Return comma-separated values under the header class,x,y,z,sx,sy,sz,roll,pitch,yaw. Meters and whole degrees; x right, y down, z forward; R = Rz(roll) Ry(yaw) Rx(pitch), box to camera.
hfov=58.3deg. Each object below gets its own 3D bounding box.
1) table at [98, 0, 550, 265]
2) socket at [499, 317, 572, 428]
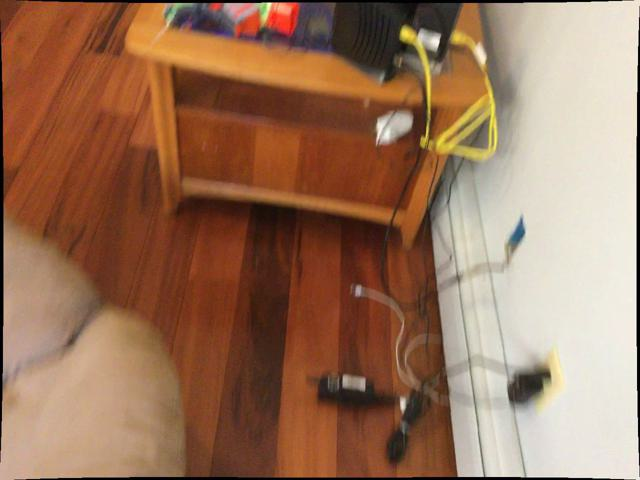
class,x,y,z,sx,sy,sz,roll,pitch,yaw
table,0.010,-0.651,1.710,0.849,0.590,1.281,5,50,-3
socket,0.380,0.240,1.030,0.040,0.170,0.130,5,50,-3
